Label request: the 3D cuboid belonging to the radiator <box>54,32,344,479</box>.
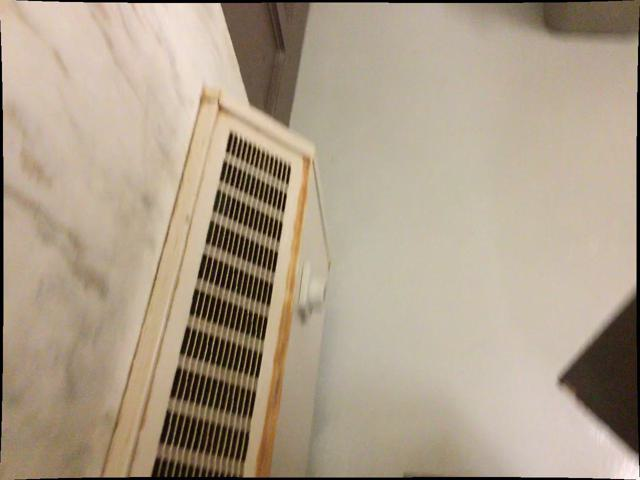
[{"bbox_3d":[-0.110,0.120,0.960,0.200,0.540,0.720,4,60,8],"label":"radiator"}]
